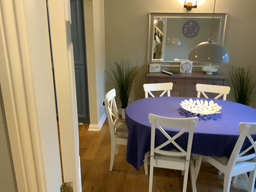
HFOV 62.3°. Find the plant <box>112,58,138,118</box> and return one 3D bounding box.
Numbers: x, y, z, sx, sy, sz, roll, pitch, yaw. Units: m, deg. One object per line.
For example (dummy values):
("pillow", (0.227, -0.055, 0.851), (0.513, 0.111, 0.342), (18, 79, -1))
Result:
("plant", (-0.050, -0.140, 3.930), (0.440, 1.080, 0.220), (2, 17, 4))

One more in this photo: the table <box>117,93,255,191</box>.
("table", (0.720, 0.500, 2.500), (1.530, 0.710, 1.130), (3, 17, 6))
